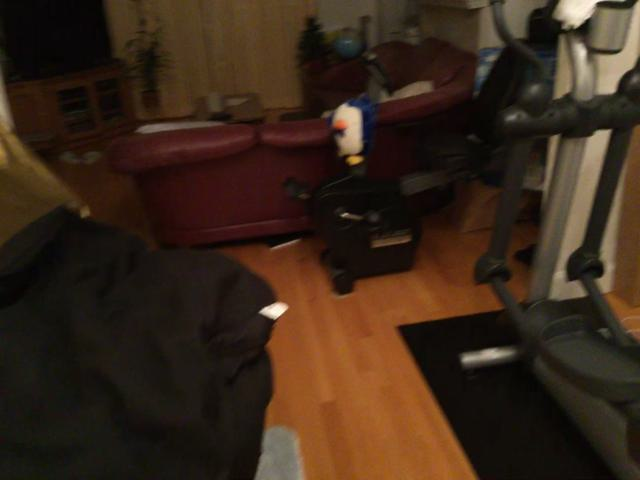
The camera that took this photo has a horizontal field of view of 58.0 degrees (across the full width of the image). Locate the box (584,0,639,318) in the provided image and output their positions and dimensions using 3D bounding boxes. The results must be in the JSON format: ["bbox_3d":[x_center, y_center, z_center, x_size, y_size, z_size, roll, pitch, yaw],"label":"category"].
[{"bbox_3d":[1.260,-0.370,2.210,0.260,1.390,0.190,-6,22,-6],"label":"box"}]
